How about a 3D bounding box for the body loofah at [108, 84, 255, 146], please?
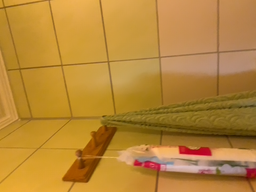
[{"bbox_3d":[0.370,0.050,0.670,0.210,0.830,0.130,-51,-42,-71],"label":"body loofah"}]
